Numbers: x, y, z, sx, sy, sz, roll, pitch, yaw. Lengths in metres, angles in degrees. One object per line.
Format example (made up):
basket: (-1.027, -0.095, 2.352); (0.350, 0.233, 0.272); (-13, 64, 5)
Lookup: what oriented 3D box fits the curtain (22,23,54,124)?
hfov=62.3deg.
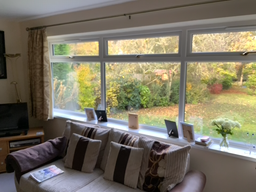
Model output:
curtain: (-1.550, -0.370, 3.660); (0.510, 1.630, 0.180); (7, 11, 33)

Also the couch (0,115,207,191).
couch: (-0.360, 0.880, 2.350); (2.090, 0.850, 0.990); (7, 11, 33)
